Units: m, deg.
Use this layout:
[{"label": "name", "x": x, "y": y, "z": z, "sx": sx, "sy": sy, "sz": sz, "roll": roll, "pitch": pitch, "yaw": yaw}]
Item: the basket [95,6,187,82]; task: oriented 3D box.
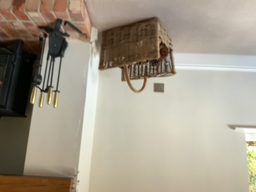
[{"label": "basket", "x": 0.090, "y": -0.340, "z": 1.570, "sx": 0.540, "sy": 0.290, "sz": 0.590, "roll": 2, "pitch": 166, "yaw": 2}]
